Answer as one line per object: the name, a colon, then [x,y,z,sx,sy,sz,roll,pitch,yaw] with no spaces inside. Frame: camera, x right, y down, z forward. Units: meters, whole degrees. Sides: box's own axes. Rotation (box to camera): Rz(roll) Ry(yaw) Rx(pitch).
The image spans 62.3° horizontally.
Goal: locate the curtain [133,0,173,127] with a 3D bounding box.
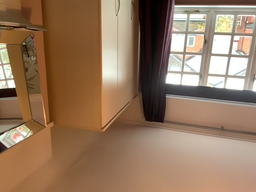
curtain: [0.330,-0.750,2.740,0.400,2.340,0.240,6,-164,12]
